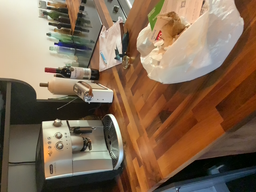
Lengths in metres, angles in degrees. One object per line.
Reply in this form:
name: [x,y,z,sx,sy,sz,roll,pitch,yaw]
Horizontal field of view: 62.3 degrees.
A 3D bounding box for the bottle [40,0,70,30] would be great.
bottle: [-0.730,-0.840,2.100,0.070,0.230,0.440,-57,41,42]
